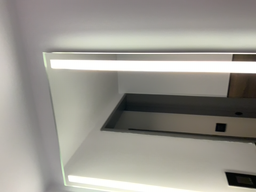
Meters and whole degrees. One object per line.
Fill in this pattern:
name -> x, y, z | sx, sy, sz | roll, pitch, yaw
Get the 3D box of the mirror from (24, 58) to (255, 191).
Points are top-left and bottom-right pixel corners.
mirror -> 0.120, 0.160, 0.830 | 0.060, 1.020, 0.590 | -61, -28, -67
